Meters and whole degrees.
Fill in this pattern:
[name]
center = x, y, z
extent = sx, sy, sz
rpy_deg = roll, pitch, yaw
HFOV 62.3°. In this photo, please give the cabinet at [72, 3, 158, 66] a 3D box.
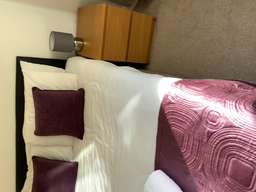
[cabinet]
center = -0.140, -0.530, 1.920
extent = 0.540, 0.540, 0.420
rpy_deg = 24, 111, 52
